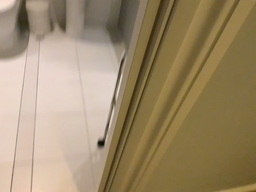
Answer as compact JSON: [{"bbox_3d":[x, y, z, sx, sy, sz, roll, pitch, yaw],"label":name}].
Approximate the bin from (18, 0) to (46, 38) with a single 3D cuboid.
[{"bbox_3d":[-0.920,-0.760,2.060,0.210,0.280,0.230,-2,46,-18],"label":"bin"}]
